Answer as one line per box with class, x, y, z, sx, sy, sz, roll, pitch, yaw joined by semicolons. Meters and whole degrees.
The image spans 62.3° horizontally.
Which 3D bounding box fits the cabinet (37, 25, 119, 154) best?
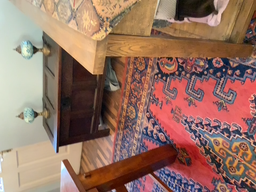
cabinet;-0.530;-0.080;2.110;0.520;0.550;1.080;38;127;45
